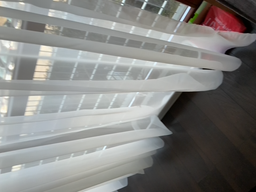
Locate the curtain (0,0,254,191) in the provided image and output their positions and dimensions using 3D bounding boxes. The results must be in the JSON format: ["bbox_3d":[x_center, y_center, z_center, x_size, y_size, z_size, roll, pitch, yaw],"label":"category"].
[{"bbox_3d":[-0.870,0.610,0.990,0.190,2.730,2.450,52,128,34],"label":"curtain"}]
